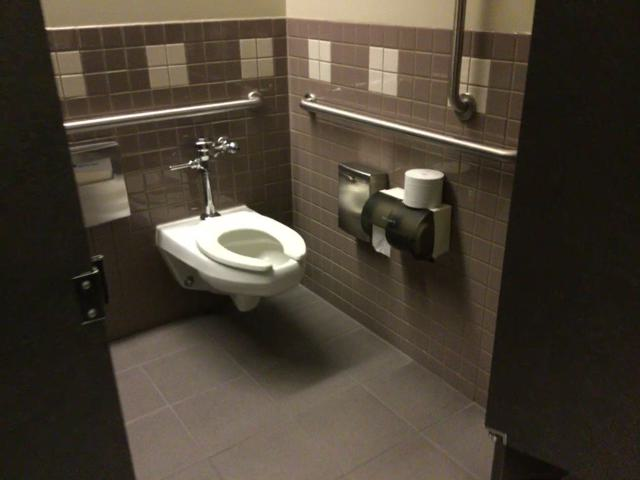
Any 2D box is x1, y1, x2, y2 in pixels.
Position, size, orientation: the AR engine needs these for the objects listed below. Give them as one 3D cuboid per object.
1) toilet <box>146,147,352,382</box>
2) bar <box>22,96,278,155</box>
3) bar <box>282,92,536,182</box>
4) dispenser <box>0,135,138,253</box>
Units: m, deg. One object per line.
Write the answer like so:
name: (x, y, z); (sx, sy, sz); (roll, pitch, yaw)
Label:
toilet: (-0.280, 0.040, 2.210); (0.500, 0.620, 0.640); (-14, 26, -32)
bar: (-0.580, -0.440, 2.150); (0.930, 0.110, 0.090); (-14, 26, -32)
bar: (0.210, -0.390, 1.990); (0.080, 0.100, 1.180); (-14, 26, -32)
dispenser: (-0.870, -0.170, 2.040); (0.400, 0.350, 0.060); (-14, 26, -32)
